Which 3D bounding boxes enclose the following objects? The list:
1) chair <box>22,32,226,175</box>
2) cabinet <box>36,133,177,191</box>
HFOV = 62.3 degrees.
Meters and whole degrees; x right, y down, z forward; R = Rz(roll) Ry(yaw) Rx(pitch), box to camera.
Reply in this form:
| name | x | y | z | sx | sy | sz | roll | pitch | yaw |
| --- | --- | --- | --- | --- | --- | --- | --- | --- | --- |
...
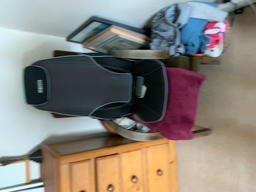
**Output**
| name | x | y | z | sx | sy | sz | roll | pitch | yaw |
| --- | --- | --- | --- | --- | --- | --- | --- | --- | --- |
| chair | -0.070 | -0.030 | 1.480 | 0.910 | 1.050 | 0.550 | 14 | 102 | 53 |
| cabinet | -0.130 | 0.850 | 1.650 | 0.480 | 0.980 | 0.950 | -3 | 88 | 54 |
